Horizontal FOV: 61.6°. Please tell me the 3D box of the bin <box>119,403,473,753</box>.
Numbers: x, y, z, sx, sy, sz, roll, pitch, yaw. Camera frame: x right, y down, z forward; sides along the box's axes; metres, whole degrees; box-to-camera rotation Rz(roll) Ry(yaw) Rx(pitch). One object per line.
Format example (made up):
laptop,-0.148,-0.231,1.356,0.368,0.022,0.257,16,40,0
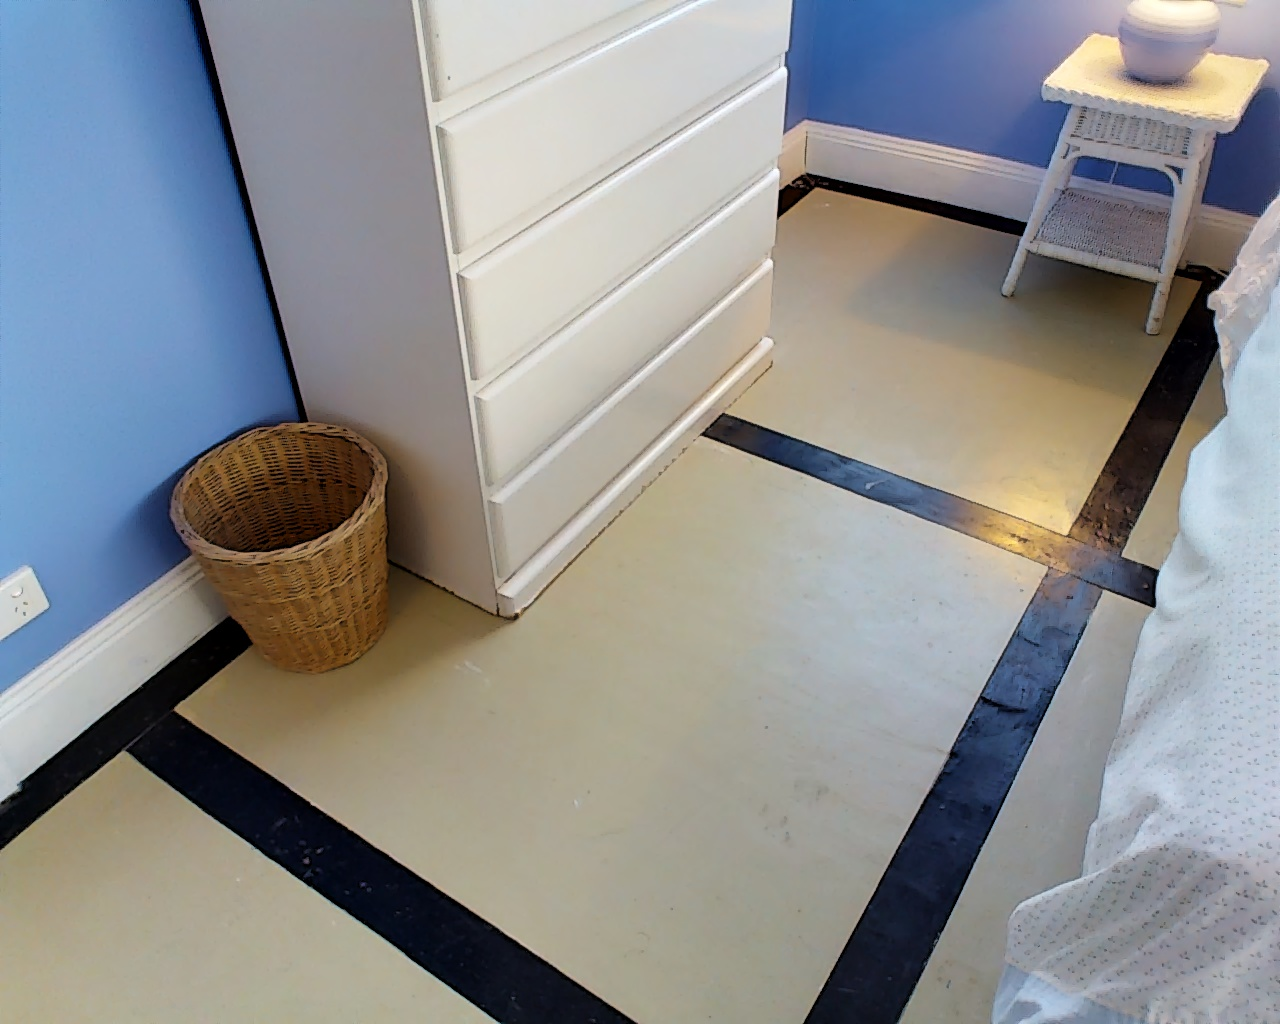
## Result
bin,-0.510,0.090,1.660,0.330,0.310,0.330,23,46,25
